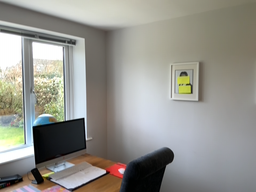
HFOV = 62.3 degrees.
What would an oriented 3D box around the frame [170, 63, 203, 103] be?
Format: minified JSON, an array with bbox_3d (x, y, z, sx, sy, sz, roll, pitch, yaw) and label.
[{"bbox_3d":[0.580,-0.130,2.130,0.300,0.380,0.100,4,5,41],"label":"frame"}]
